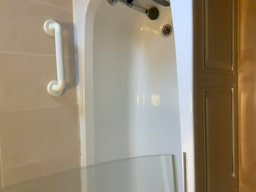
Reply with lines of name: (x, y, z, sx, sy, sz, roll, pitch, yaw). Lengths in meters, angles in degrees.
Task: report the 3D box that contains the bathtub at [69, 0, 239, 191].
bathtub: (0.150, 0.110, 1.150, 0.690, 0.560, 1.850, 1, 94, 41)
